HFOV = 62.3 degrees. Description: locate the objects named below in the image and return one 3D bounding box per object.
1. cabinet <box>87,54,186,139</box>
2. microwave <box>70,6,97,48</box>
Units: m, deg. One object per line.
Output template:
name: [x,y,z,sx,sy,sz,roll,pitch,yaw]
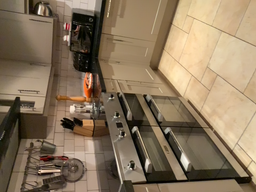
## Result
cabinet: [0.020,0.000,2.610,0.820,0.920,0.640,-112,31,-54]
microwave: [-0.610,-0.930,2.840,0.410,0.280,0.390,-110,30,-52]
